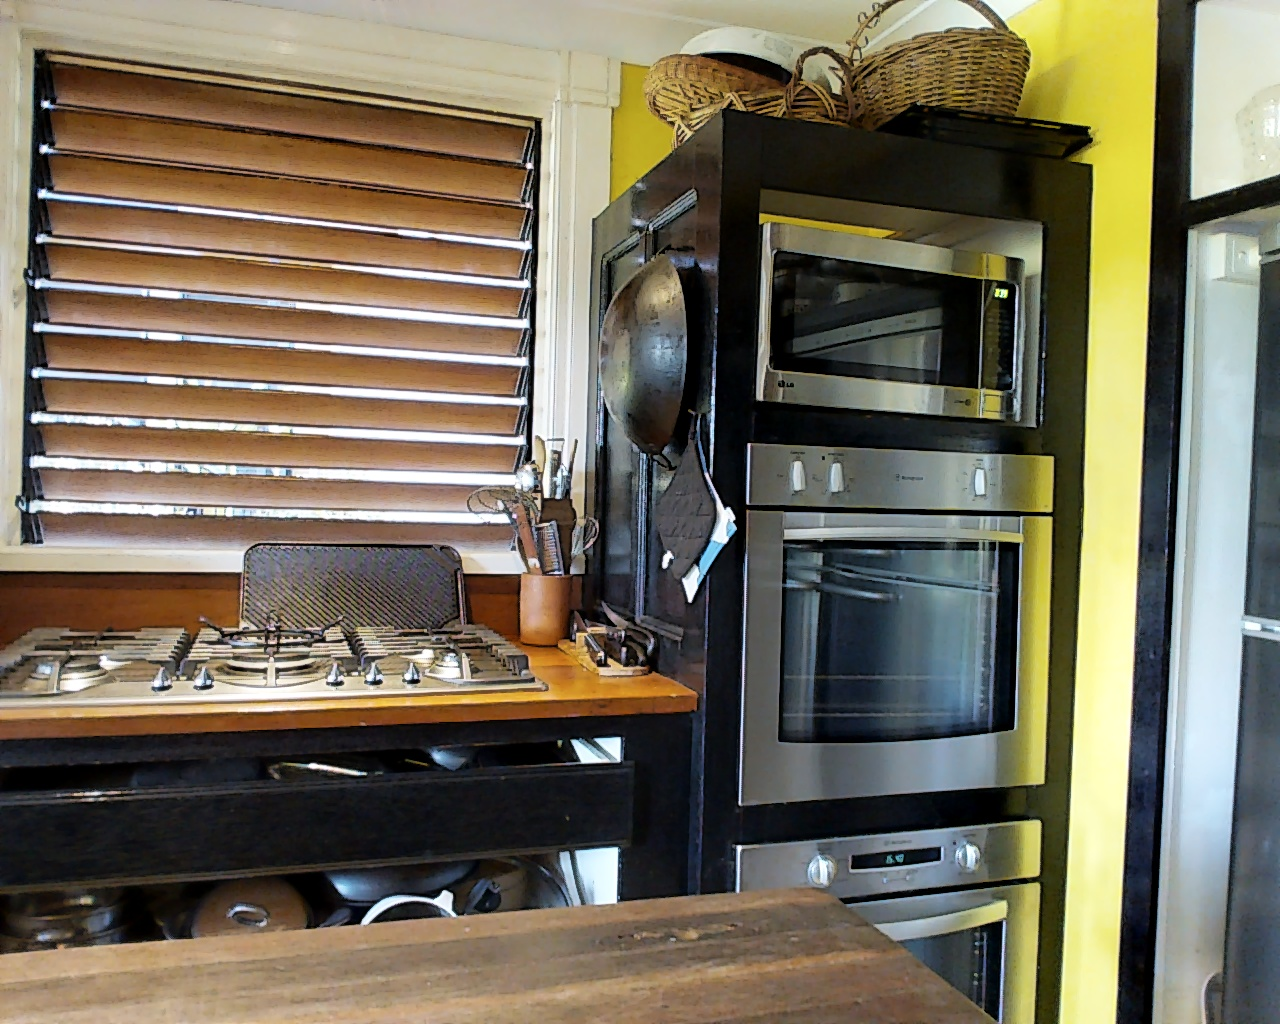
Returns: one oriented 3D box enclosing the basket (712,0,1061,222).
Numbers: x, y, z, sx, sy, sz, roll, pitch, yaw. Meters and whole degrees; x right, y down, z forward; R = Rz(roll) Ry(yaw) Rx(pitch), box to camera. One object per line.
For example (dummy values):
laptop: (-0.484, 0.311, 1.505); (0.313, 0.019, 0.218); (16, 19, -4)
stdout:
basket: (0.460, -0.870, 2.230); (0.340, 0.320, 0.790); (1, 1, -18)

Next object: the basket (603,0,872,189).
basket: (0.160, -0.790, 1.990); (0.350, 0.230, 0.450); (1, 1, -17)
